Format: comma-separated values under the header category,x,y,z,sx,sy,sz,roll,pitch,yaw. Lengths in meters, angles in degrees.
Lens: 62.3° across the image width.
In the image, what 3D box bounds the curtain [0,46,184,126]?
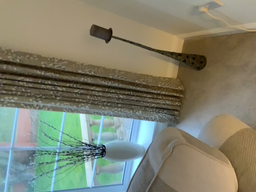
category,x,y,z,sx,sy,sz,roll,pitch,yaw
curtain,-0.500,-0.060,1.390,0.140,2.200,0.380,17,97,58
